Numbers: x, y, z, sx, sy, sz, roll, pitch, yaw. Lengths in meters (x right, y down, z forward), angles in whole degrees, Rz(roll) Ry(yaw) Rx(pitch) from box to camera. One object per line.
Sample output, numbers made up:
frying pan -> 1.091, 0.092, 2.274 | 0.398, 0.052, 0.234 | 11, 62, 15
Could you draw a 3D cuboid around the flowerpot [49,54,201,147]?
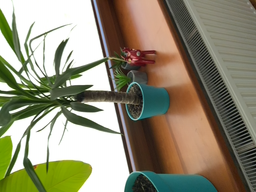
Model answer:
flowerpot -> -0.020, 0.020, 0.820 | 0.220, 0.500, 0.230 | -55, 44, 49
